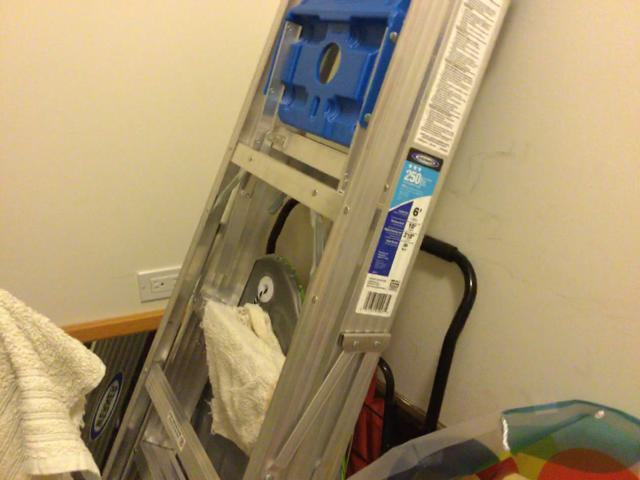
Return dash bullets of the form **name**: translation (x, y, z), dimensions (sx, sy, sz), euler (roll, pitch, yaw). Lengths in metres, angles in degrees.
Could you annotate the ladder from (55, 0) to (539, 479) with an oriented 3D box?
- **ladder**: translation (-0.230, 0.400, 0.880), dimensions (0.120, 1.700, 0.540), euler (14, 8, -42)
